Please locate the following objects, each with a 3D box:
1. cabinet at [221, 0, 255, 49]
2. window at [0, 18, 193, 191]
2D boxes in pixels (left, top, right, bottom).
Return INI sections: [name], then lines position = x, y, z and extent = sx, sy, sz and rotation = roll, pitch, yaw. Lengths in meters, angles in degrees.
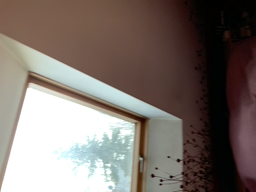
[cabinet]
position = 1.500, -0.930, 2.550
extent = 0.480, 0.520, 0.520
rotation = 82, -169, -69
[window]
position = -0.130, 0.320, 1.290
extent = 1.450, 0.470, 0.740
rotation = 24, -118, -47
